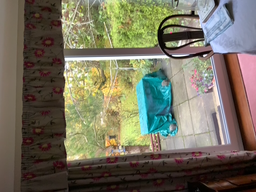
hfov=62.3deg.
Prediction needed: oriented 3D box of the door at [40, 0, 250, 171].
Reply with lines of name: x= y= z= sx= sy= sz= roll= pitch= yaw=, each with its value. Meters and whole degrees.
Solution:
door: x=0.140 y=-0.540 z=2.510 sx=0.130 sy=2.190 sz=2.470 roll=122 pitch=144 yaw=-72

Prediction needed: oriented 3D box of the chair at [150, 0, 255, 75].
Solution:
chair: x=0.780 y=-0.540 z=1.730 sx=0.540 sy=1.020 sz=0.540 roll=118 pitch=147 yaw=-70
